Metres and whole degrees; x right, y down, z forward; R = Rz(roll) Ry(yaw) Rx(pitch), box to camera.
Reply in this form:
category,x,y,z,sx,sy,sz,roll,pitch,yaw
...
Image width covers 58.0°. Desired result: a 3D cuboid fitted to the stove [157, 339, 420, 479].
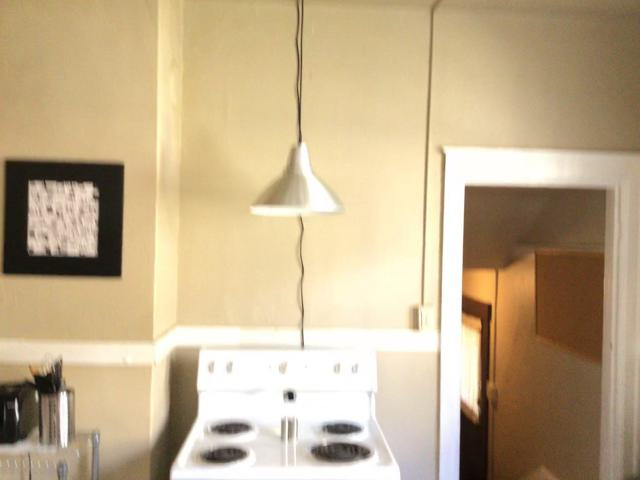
category,x,y,z,sx,sy,sz,roll,pitch,yaw
stove,-0.140,1.050,2.240,0.830,1.190,0.800,3,-2,-4

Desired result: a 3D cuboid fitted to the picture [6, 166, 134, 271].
category,x,y,z,sx,sy,sz,roll,pitch,yaw
picture,-0.960,-0.080,2.230,0.440,0.380,0.060,3,-2,-4

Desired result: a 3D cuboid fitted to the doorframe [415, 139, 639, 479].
category,x,y,z,sx,sy,sz,roll,pitch,yaw
doorframe,0.990,0.590,2.700,1.020,2.060,0.240,2,-2,5
